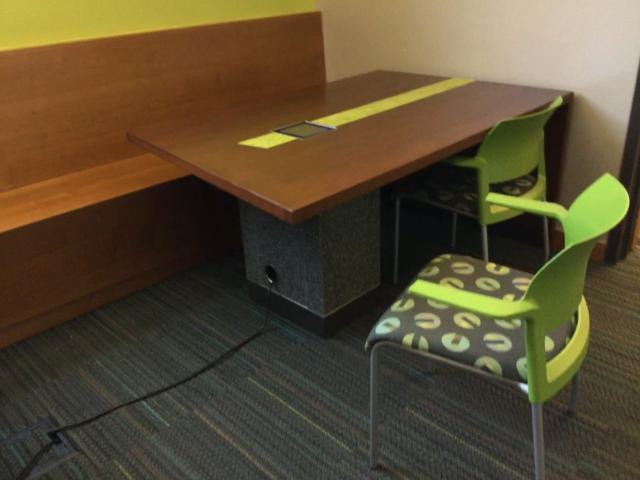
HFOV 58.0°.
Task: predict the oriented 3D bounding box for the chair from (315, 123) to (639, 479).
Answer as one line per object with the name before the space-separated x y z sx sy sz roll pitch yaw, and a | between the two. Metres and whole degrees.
chair | 0.440 0.210 1.520 0.560 0.830 0.760 11 28 28

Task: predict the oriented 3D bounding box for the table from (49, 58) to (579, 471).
table | 0.070 -0.160 2.330 1.140 0.840 1.660 20 33 40

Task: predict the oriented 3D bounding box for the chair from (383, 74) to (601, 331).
chair | 0.670 -0.200 2.330 0.550 0.780 0.650 19 32 38
